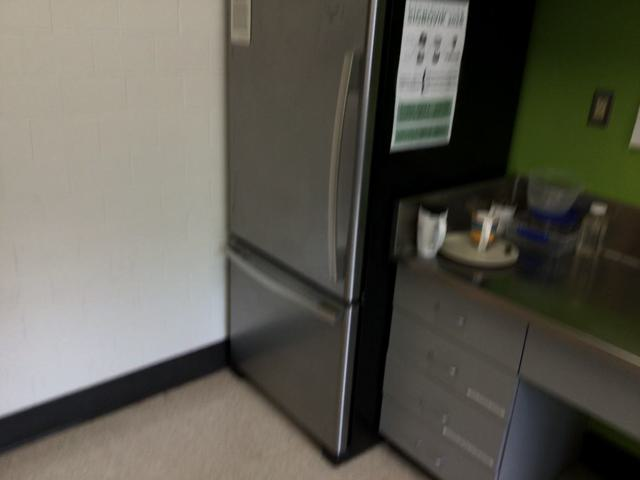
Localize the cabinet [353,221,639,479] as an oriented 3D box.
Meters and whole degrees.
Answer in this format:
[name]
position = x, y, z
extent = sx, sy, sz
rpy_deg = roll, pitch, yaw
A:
[cabinet]
position = 0.860, 0.590, 1.660
extent = 0.650, 0.790, 1.450
rpy_deg = -13, 27, -38
